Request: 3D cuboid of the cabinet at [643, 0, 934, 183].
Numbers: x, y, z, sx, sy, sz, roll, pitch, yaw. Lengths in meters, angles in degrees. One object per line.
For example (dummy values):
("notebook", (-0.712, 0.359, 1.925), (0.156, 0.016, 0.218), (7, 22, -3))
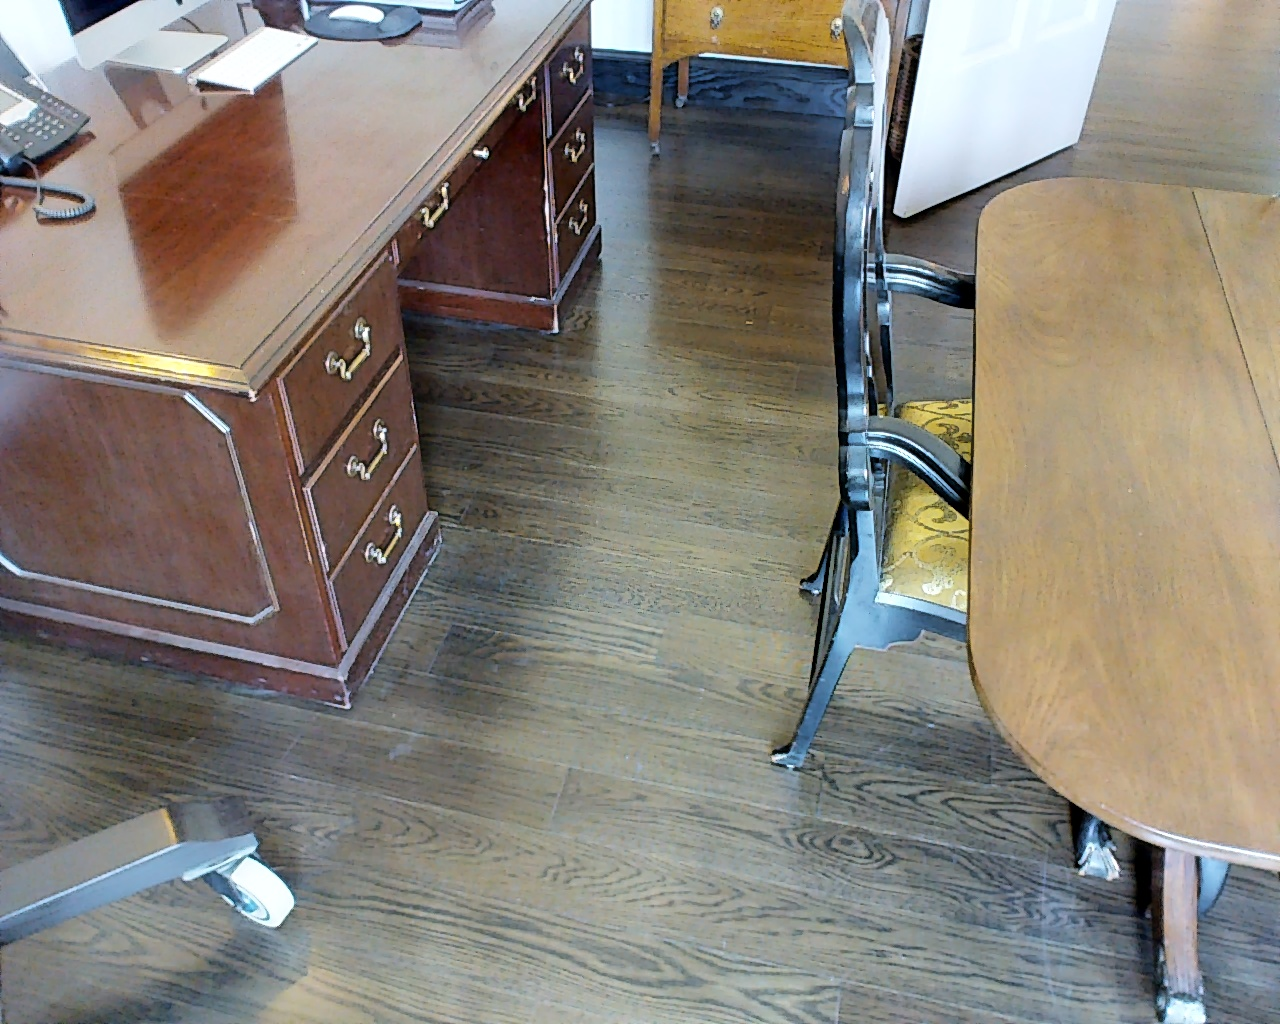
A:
("cabinet", (0.480, -1.580, 3.380), (0.840, 0.820, 0.510), (9, 43, 9))
